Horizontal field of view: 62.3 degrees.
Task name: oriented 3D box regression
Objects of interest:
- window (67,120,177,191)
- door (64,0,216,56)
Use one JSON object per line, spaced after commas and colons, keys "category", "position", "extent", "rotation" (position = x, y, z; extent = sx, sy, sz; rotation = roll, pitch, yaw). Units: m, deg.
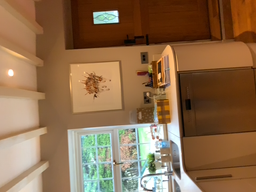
{"category": "window", "position": [-0.070, 0.920, 2.810], "extent": [0.300, 1.320, 1.070], "rotation": [-145, 51, -88]}
{"category": "door", "position": [0.150, -1.140, 2.980], "extent": [0.200, 2.020, 0.990], "rotation": [116, 150, -87]}
